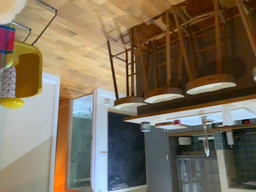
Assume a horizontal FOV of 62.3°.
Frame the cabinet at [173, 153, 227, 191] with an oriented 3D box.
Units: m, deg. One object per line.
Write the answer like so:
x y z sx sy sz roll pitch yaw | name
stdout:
1.490 1.690 4.430 0.830 0.920 0.610 -14 160 39 | cabinet
